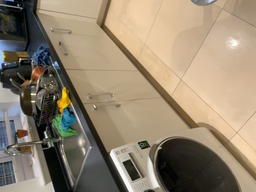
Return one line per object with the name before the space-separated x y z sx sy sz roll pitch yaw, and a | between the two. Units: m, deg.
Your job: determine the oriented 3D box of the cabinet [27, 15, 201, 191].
cabinet | -0.340 -0.040 2.120 1.800 0.870 0.700 53 133 37
